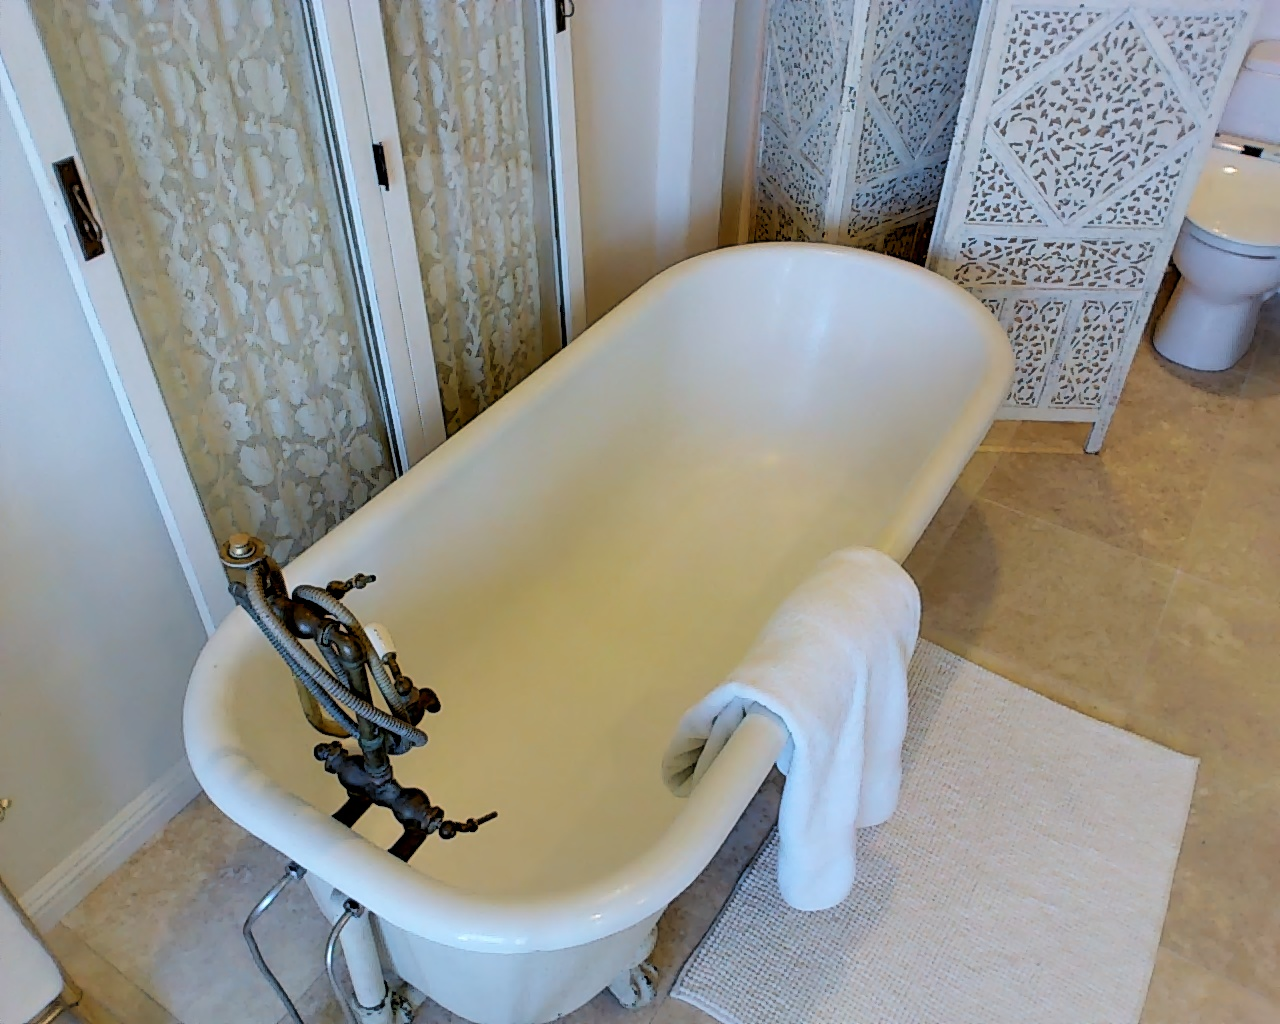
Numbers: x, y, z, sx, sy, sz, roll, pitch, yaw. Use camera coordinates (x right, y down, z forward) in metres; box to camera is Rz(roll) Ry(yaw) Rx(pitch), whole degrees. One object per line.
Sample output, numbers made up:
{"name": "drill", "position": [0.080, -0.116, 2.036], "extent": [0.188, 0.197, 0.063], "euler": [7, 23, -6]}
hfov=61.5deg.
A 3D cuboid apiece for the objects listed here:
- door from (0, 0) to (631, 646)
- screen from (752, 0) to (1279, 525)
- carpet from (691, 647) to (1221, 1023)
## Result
{"name": "door", "position": [-0.360, -0.660, 1.570], "extent": [0.170, 1.480, 1.020], "euler": [23, 45, 24]}
{"name": "screen", "position": [0.840, -0.880, 2.320], "extent": [0.930, 1.580, 0.540], "euler": [23, 45, 24]}
{"name": "carpet", "position": [0.560, 0.620, 1.780], "extent": [0.610, 0.020, 0.850], "euler": [22, 45, 23]}
